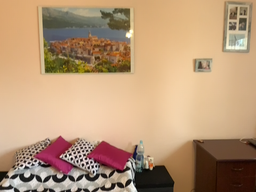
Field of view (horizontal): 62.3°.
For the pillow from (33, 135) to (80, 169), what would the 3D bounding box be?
[{"bbox_3d":[-0.700,0.550,2.140,0.370,0.200,0.370,0,6,-6],"label":"pillow"}]
